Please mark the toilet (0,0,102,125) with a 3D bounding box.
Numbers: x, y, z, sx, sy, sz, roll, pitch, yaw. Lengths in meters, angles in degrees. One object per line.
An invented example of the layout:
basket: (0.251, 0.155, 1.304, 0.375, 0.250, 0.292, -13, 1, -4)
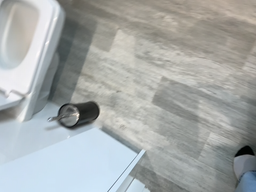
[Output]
toilet: (-0.520, -0.210, 0.850, 0.370, 0.850, 0.530, 22, 98, 14)
